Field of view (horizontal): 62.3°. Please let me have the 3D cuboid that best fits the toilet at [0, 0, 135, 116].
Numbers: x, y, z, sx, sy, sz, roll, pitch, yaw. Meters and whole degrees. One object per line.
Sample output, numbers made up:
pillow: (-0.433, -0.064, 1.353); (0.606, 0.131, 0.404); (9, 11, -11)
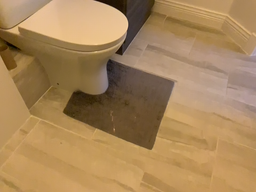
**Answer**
toilet: (-0.300, -0.360, 1.030); (0.550, 0.760, 0.380); (21, 52, 12)
